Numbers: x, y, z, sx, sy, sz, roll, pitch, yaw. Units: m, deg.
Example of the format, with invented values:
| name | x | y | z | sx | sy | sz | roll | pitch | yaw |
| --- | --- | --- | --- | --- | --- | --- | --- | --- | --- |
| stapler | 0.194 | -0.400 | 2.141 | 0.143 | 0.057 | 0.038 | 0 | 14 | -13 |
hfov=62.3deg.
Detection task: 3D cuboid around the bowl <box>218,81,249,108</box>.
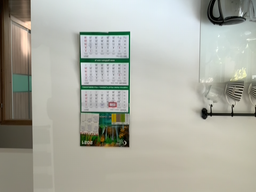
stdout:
| name | x | y | z | sx | sy | sz | roll | pitch | yaw |
| --- | --- | --- | --- | --- | --- | --- | --- | --- | --- |
| bowl | 0.600 | -0.010 | 1.210 | 0.130 | 0.150 | 0.090 | 1 | -177 | 6 |
